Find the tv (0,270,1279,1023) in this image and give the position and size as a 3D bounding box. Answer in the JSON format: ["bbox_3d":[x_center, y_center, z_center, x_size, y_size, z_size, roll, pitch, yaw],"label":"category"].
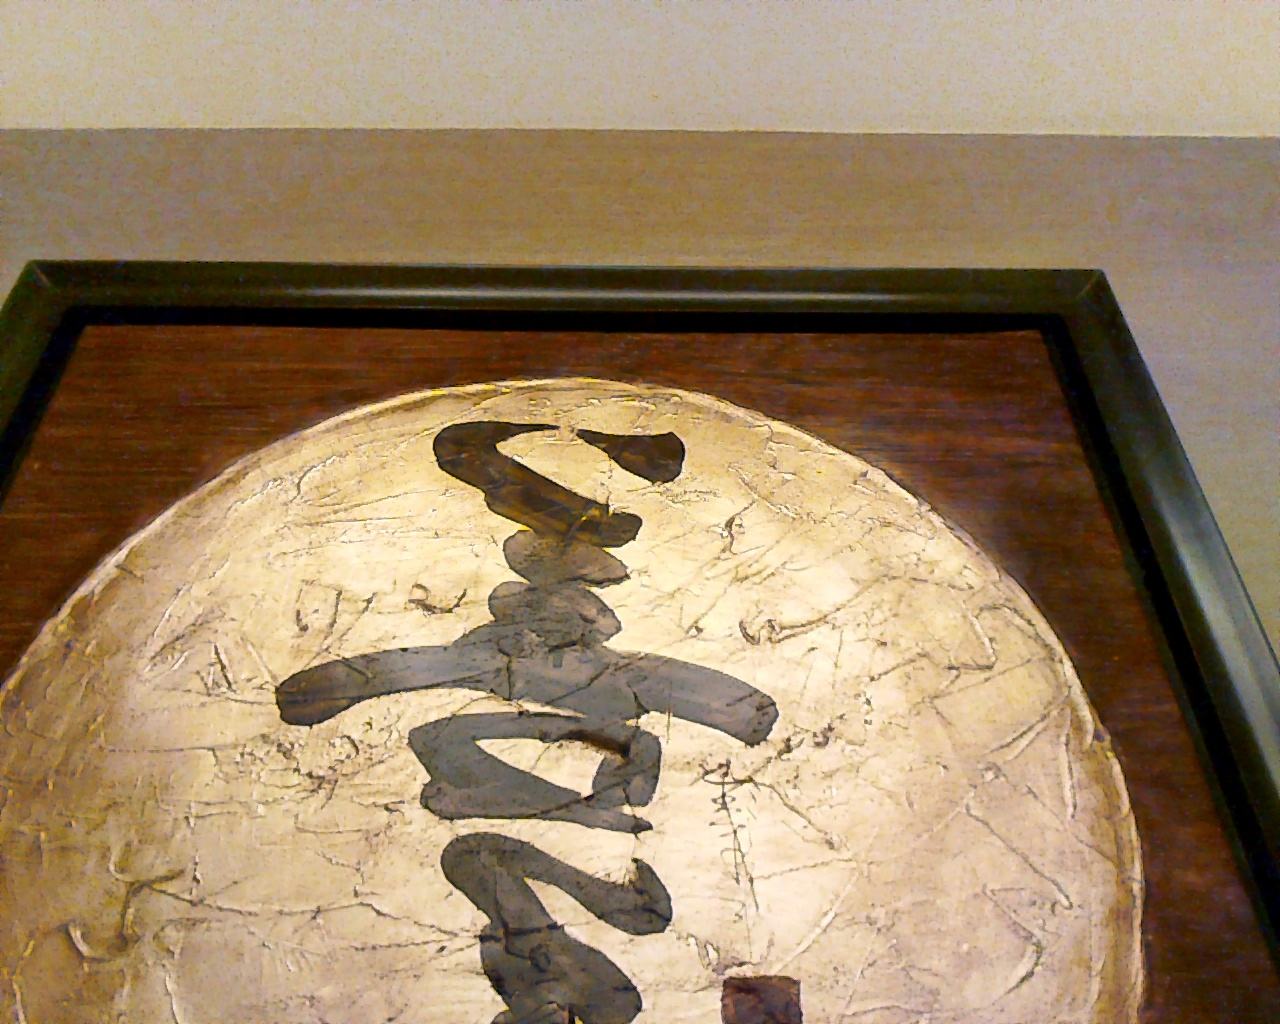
[{"bbox_3d":[-0.060,0.160,0.600,0.870,0.870,0.060,0,-41,-1],"label":"tv"}]
